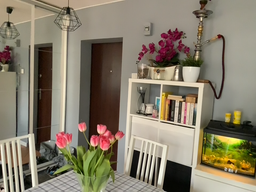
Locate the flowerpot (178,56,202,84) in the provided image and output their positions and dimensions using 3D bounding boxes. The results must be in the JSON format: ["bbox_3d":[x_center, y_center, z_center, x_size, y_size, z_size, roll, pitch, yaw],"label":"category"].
[{"bbox_3d":[0.560,-0.230,1.920,0.150,0.240,0.150,7,6,35],"label":"flowerpot"}]

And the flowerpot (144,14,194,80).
[{"bbox_3d":[0.420,-0.490,2.220,0.430,0.610,0.190,7,6,35],"label":"flowerpot"}]

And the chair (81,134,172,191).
[{"bbox_3d":[-0.020,0.840,1.550,0.410,0.980,0.500,8,7,40],"label":"chair"}]
